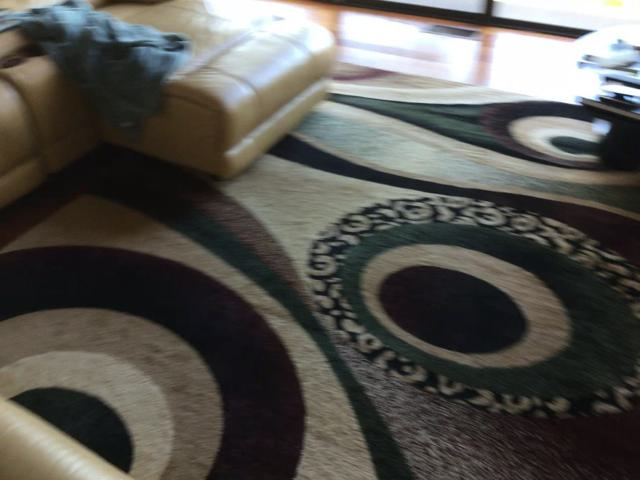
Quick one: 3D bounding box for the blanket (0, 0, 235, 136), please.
[{"bbox_3d":[-0.990,-0.860,2.560,1.040,0.390,0.570,17,42,24],"label":"blanket"}]
